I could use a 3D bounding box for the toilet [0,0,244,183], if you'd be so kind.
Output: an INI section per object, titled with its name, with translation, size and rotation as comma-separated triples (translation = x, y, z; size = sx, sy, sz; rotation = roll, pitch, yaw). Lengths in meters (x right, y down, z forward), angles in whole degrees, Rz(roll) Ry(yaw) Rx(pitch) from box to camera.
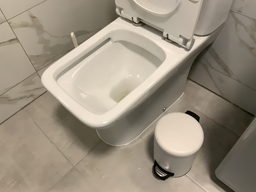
[toilet]
translation = 0.030, -0.200, 0.760
size = 0.410, 0.860, 0.660
rotation = 37, 64, 26
